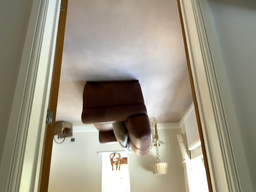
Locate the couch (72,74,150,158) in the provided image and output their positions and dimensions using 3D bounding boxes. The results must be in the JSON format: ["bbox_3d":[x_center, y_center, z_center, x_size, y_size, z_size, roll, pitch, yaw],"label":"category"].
[{"bbox_3d":[-0.200,0.430,3.370,0.920,0.880,1.570,-2,157,0],"label":"couch"}]
